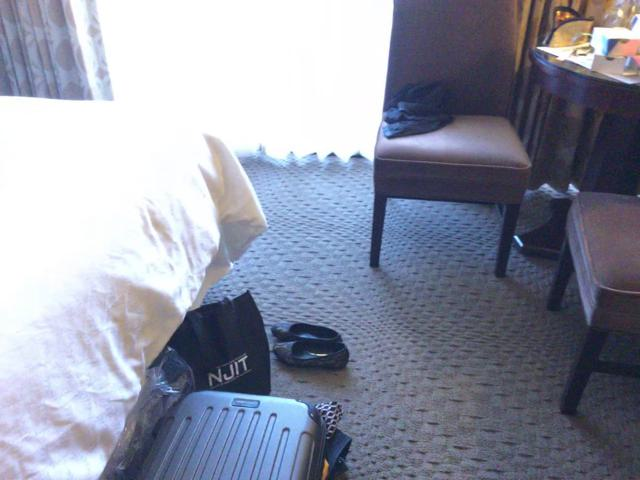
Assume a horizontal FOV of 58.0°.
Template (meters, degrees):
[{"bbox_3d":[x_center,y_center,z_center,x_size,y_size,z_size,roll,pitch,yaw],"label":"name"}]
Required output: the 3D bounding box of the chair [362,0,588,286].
[{"bbox_3d":[0.500,-0.490,2.190,0.580,1.020,0.770,4,31,6],"label":"chair"}]

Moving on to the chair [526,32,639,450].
[{"bbox_3d":[1.050,0.000,1.520,0.710,0.900,0.660,4,31,6],"label":"chair"}]
